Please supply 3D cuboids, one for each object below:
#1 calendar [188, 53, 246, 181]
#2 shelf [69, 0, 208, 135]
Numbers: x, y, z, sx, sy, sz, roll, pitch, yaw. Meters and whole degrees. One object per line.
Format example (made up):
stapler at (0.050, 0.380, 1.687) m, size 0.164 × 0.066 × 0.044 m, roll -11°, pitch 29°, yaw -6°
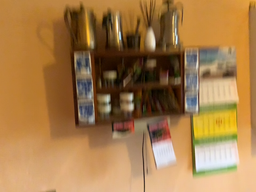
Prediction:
calendar at (0.550, 0.120, 1.290) m, size 0.370 × 0.750 × 0.020 m, roll -4°, pitch 4°, yaw -13°
shelf at (0.060, -0.160, 1.100) m, size 0.660 × 0.630 × 0.180 m, roll -3°, pitch 4°, yaw -11°
